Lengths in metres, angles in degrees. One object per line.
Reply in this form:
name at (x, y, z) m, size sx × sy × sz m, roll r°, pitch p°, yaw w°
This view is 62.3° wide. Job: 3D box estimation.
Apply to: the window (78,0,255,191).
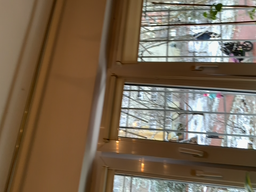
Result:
window at (0.390, 0.170, 1.150) m, size 0.150 × 1.190 × 2.400 m, roll 68°, pitch -154°, yaw -68°
